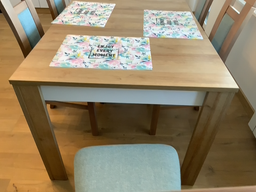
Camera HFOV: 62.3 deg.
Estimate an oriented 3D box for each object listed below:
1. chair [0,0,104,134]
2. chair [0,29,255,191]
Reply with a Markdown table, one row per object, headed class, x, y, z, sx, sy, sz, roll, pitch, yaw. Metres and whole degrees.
| class | x | y | z | sx | sy | sz | roll | pitch | yaw |
| --- | --- | --- | --- | --- | --- | --- | --- | --- | --- |
| chair | -0.450 | -0.250 | 1.440 | 0.480 | 1.000 | 0.450 | 3 | 40 | 0 |
| chair | 0.010 | 0.350 | 0.760 | 0.460 | 1.000 | 0.520 | -1 | 40 | -4 |
